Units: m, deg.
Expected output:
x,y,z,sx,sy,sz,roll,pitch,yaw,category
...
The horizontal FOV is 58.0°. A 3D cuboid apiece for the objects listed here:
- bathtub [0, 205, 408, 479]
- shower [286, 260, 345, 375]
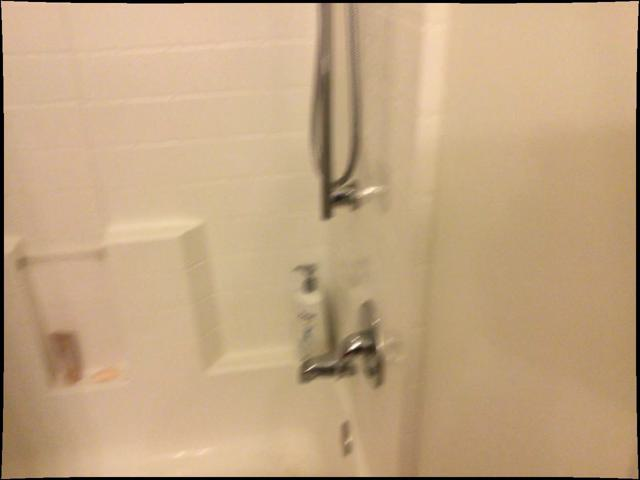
x,y,z,sx,sy,sz,roll,pitch,yaw,category
-0.609,0.511,1.360,1.457,0.862,0.780,-3,27,-3,bathtub
-0.010,0.221,1.640,0.120,0.281,0.120,-14,30,-21,shower
